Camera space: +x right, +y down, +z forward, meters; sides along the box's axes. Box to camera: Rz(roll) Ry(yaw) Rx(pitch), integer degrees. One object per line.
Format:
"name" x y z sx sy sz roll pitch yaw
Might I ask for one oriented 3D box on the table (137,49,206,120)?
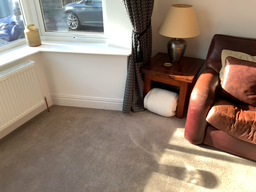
"table" 0.530 -0.180 2.610 0.600 0.540 0.630 16 35 25

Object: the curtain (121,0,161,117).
"curtain" 0.150 -0.880 2.120 0.160 2.280 0.570 16 35 25

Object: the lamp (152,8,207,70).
"lamp" 0.570 -0.660 2.380 0.430 0.520 0.470 15 35 24
